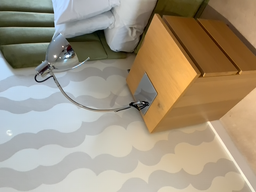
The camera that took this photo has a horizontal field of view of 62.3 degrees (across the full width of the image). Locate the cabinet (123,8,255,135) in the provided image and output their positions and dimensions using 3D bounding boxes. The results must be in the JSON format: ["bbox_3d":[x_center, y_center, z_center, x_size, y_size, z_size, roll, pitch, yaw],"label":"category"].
[{"bbox_3d":[0.360,-0.130,1.230,0.430,0.540,0.510,67,148,31],"label":"cabinet"}]

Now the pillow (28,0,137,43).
[{"bbox_3d":[-0.360,-0.710,1.460,0.650,0.490,0.270,46,134,17],"label":"pillow"}]
